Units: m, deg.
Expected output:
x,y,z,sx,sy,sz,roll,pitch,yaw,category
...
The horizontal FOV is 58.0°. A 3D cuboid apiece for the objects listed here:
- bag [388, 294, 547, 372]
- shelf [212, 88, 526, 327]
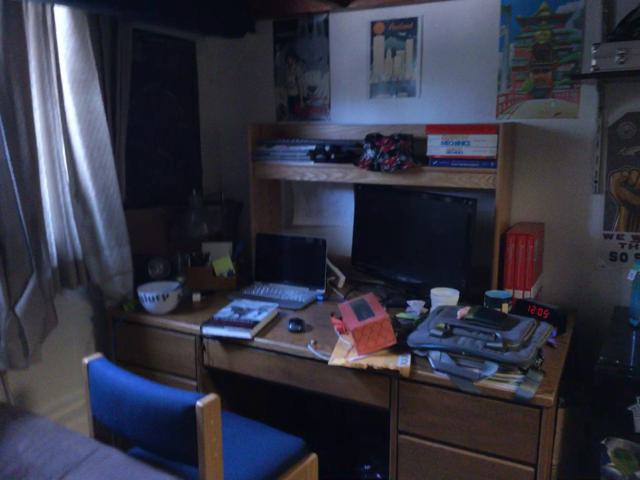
x,y,z,sx,sy,sz,roll,pitch,yaw,category
0.420,0.250,1.630,0.380,0.110,0.260,1,10,29,bag
0.170,-0.130,2.280,1.160,0.770,0.340,1,10,29,shelf
